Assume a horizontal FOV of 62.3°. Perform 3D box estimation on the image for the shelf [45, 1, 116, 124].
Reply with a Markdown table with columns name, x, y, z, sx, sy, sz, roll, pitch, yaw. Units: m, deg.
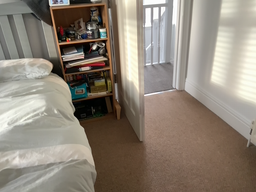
| name | x | y | z | sx | sy | sz | roll | pitch | yaw |
| --- | --- | --- | --- | --- | --- | --- | --- | --- | --- |
| shelf | -0.410 | -0.300 | 1.990 | 0.460 | 1.040 | 0.330 | -10 | 29 | -13 |
